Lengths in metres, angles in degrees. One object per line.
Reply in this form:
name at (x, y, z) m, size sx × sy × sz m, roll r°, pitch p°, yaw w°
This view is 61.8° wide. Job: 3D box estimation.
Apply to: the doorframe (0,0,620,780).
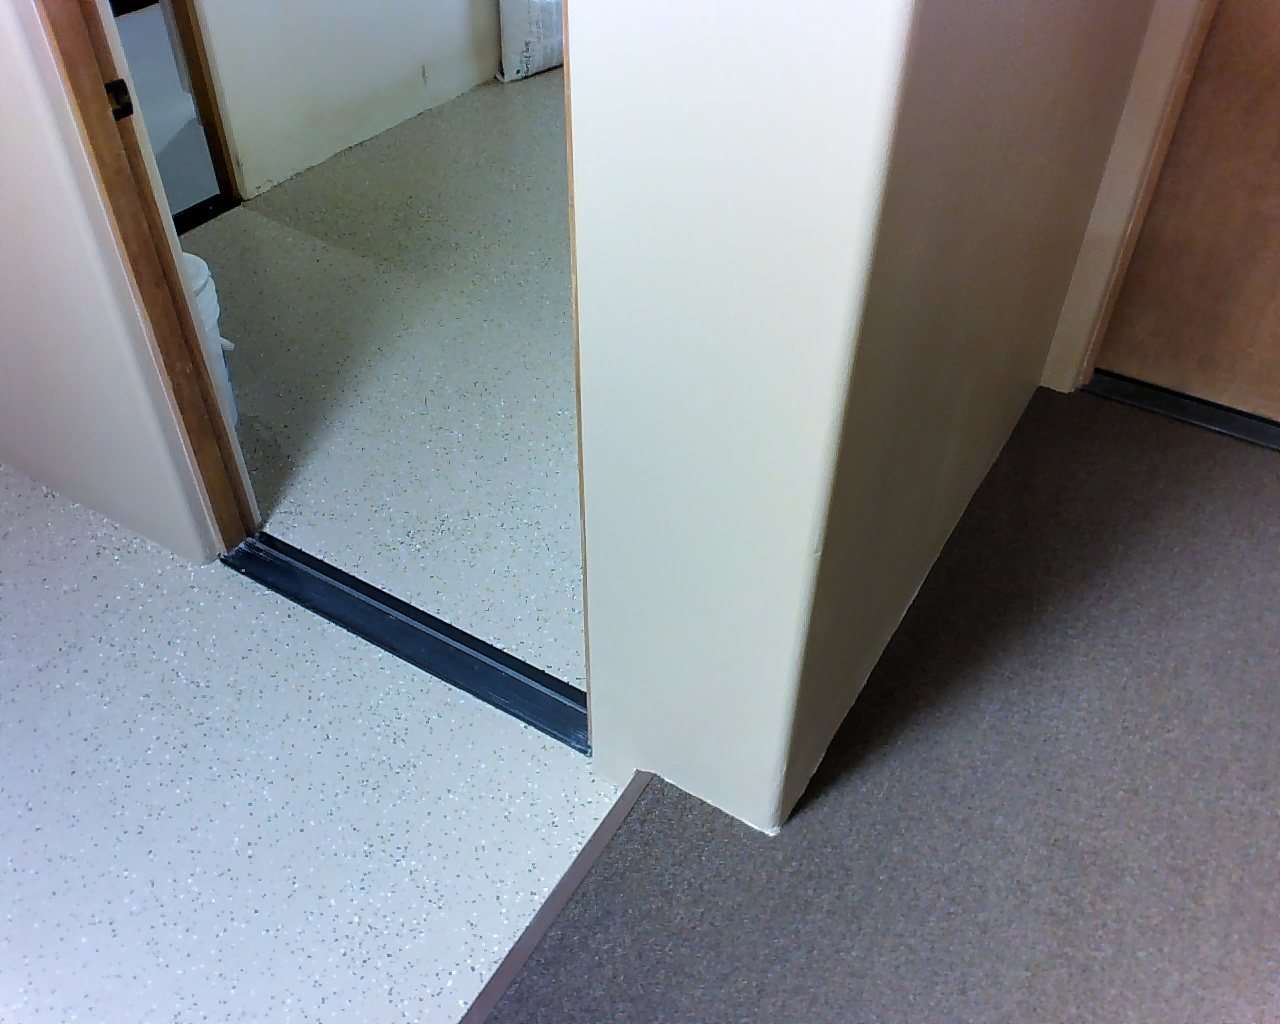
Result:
doorframe at (-0.480, -0.520, 1.330) m, size 0.990 × 2.030 × 0.110 m, roll 22°, pitch 46°, yaw 22°
